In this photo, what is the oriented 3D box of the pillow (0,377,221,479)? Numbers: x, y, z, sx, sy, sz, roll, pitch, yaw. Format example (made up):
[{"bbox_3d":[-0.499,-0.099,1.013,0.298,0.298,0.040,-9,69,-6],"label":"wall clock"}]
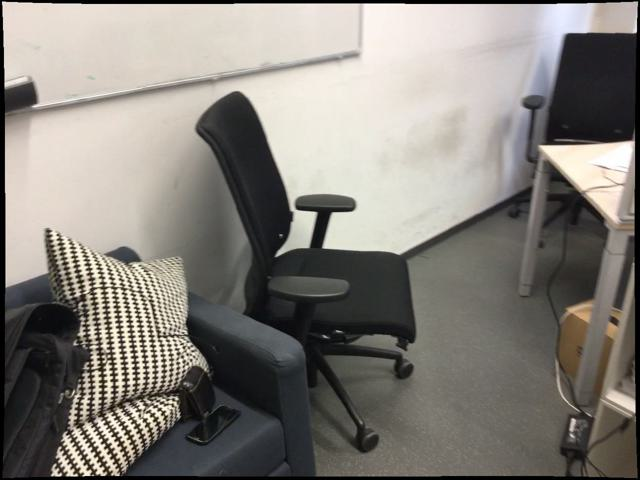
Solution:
[{"bbox_3d":[-0.490,0.511,1.270,0.500,0.120,0.200,-23,34,-36],"label":"pillow"}]

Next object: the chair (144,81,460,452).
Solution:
[{"bbox_3d":[-0.020,0.050,1.870,0.729,0.951,0.730,0,27,3],"label":"chair"}]

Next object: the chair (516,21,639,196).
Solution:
[{"bbox_3d":[1.489,-0.721,2.990,0.670,0.671,0.810,13,30,26],"label":"chair"}]

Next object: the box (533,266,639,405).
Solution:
[{"bbox_3d":[1.019,0.330,2.100,0.280,0.300,0.330,-23,34,-36],"label":"box"}]
